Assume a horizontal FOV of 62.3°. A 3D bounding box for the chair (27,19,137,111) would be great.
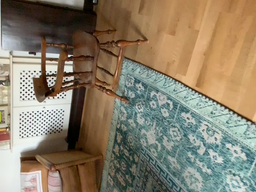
[{"bbox_3d":[-0.460,-0.300,1.970,0.630,0.750,0.600,38,123,48],"label":"chair"}]
